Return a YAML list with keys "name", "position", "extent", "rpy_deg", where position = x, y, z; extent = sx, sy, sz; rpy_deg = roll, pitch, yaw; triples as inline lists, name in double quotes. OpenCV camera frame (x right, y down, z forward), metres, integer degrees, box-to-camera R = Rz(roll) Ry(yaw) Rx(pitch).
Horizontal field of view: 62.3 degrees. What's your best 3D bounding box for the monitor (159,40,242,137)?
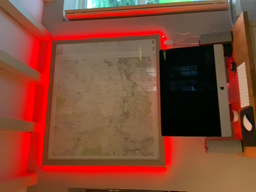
- name: "monitor"
  position: [0.490, -0.050, 1.510]
  extent: [0.080, 0.510, 0.670]
  rpy_deg: [48, -138, -73]
